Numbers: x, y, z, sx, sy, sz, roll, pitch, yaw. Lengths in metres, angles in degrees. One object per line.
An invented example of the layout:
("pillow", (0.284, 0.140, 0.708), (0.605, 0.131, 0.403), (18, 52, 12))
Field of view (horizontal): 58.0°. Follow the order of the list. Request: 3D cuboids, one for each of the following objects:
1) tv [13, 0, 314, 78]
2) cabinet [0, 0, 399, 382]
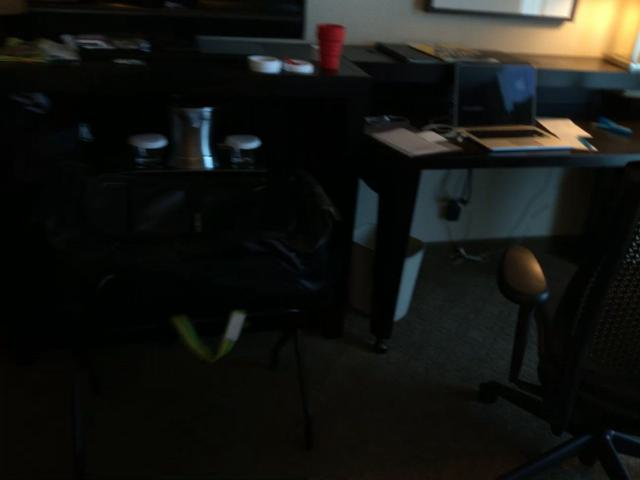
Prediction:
("tv", (-0.420, -0.800, 1.620), (0.800, 0.610, 0.200), (-3, 29, -17))
("cabinet", (-0.510, -0.190, 1.970), (1.250, 1.040, 0.630), (-3, 29, -17))
